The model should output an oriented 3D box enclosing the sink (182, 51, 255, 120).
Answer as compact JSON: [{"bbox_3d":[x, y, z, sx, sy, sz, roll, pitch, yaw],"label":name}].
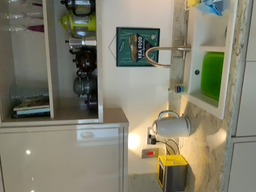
[{"bbox_3d":[0.550,-0.100,1.350,0.470,0.200,0.360,-129,39,-74],"label":"sink"}]

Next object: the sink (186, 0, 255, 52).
[{"bbox_3d":[0.560,-0.400,1.280,0.470,0.200,0.250,-129,39,-74],"label":"sink"}]

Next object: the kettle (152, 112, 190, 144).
[{"bbox_3d":[0.310,0.230,1.560,0.180,0.210,0.160,-124,35,-72],"label":"kettle"}]
